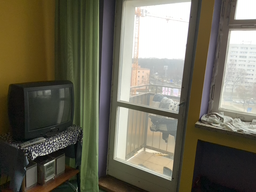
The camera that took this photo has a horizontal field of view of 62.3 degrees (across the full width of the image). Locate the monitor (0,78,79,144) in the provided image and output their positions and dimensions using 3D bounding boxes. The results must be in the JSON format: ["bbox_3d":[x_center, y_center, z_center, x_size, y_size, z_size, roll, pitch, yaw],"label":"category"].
[{"bbox_3d":[-0.760,0.090,1.870,0.310,0.440,0.570,11,12,35],"label":"monitor"}]
